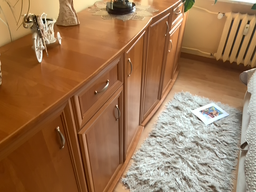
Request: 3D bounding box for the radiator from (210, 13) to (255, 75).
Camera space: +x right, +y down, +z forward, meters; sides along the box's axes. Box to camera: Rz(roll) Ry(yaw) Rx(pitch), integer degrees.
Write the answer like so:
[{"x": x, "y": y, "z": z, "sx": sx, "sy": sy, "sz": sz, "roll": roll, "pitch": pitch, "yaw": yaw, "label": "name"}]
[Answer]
[{"x": 1.340, "y": -0.620, "z": 2.530, "sx": 0.500, "sy": 0.580, "sz": 0.210, "roll": 23, "pitch": 43, "yaw": 25, "label": "radiator"}]
